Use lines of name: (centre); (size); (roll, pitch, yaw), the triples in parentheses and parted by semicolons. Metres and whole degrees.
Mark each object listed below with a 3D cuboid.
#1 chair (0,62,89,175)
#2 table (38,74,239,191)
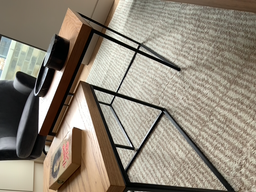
chair: (-0.930, 0.190, 1.870); (0.750, 0.800, 0.710); (-4, 71, 59)
table: (-0.040, 0.270, 0.740); (0.440, 0.400, 0.470); (-62, 31, 18)
